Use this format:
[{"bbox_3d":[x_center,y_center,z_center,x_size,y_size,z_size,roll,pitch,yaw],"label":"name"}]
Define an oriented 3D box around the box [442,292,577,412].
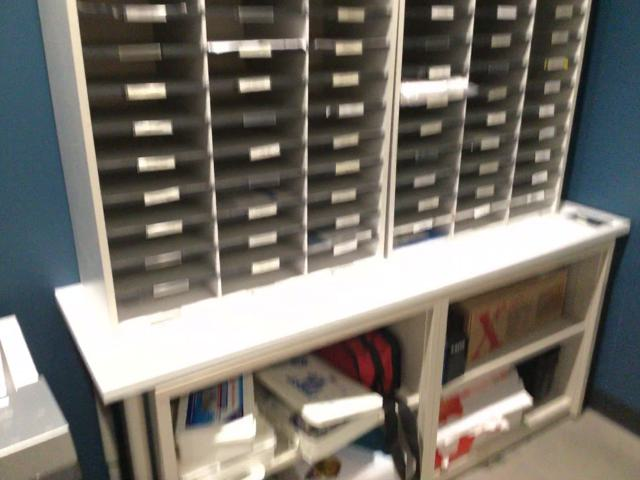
[{"bbox_3d":[0.540,0.310,1.670,0.240,0.180,0.260,-14,25,-32],"label":"box"}]
